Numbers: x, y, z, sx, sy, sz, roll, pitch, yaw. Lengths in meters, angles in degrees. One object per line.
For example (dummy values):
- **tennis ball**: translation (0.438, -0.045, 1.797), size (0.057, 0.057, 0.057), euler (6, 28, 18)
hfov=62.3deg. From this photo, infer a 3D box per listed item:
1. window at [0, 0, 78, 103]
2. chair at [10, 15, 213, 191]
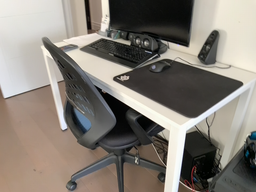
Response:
- **window**: translation (-1.020, -1.010, 2.070), size (0.870, 2.110, 0.120), euler (-25, 38, -37)
- **chair**: translation (-0.090, 0.110, 1.210), size (0.640, 0.930, 0.690), euler (-25, 38, -36)
